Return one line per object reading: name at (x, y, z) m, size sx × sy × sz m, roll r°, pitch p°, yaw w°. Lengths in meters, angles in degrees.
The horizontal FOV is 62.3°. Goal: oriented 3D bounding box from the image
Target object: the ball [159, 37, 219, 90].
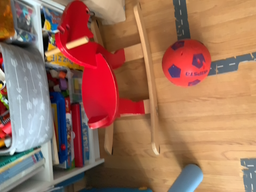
ball at (0.260, -0.120, 0.890) m, size 0.180 × 0.190 × 0.160 m, roll -11°, pitch 85°, yaw 28°
